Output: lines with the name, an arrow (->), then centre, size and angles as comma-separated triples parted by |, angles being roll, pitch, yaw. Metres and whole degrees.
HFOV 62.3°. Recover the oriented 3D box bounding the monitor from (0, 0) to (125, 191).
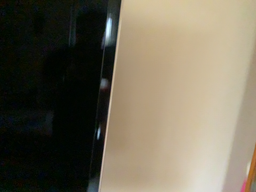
monitor -> -0.510, 0.000, 0.460 | 0.950, 0.610, 0.040 | 6, 10, -15
